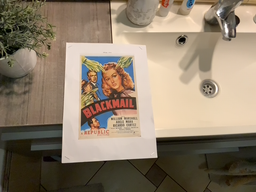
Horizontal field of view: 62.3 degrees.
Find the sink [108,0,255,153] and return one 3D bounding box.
[{"bbox_3d":[0.260,-0.080,0.630,0.610,0.110,0.430,-3,71,-7],"label":"sink"}]
